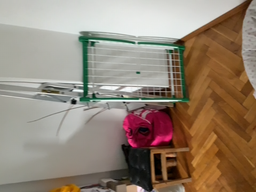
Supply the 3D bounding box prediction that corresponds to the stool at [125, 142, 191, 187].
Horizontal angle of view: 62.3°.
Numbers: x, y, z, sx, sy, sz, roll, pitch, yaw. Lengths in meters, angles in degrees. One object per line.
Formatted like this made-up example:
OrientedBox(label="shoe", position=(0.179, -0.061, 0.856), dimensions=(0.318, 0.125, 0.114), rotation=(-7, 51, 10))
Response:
OrientedBox(label="stool", position=(0.270, 0.610, 1.980), dimensions=(0.330, 0.490, 0.310), rotation=(-19, 71, 62))
